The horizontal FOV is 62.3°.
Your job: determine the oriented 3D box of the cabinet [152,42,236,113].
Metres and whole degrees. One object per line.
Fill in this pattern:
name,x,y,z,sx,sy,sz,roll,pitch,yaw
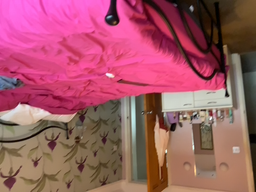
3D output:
cabinet,0.960,-0.210,3.160,1.050,0.820,0.450,-8,169,31
